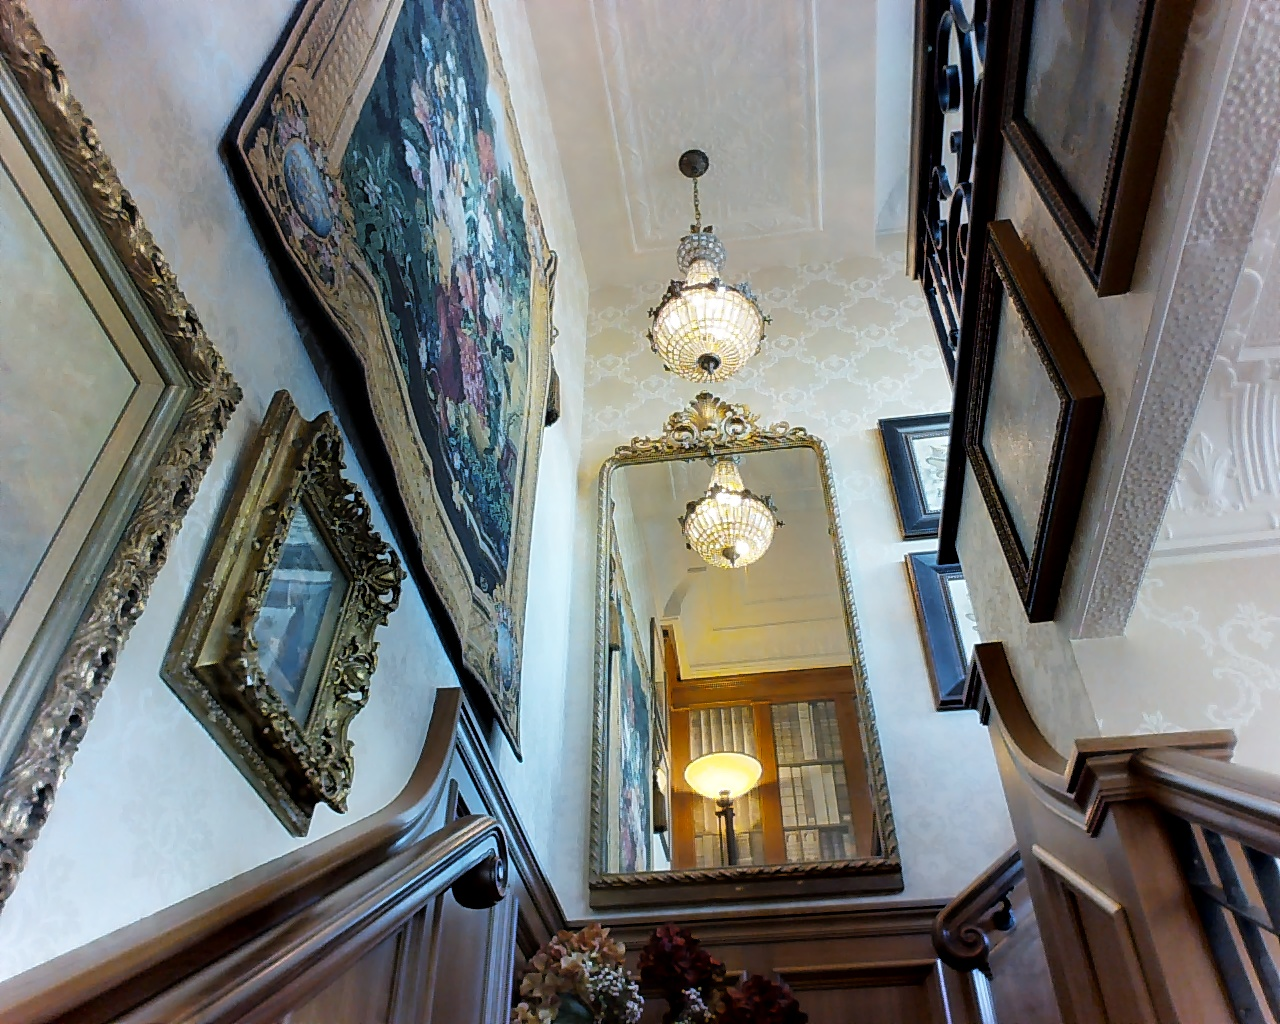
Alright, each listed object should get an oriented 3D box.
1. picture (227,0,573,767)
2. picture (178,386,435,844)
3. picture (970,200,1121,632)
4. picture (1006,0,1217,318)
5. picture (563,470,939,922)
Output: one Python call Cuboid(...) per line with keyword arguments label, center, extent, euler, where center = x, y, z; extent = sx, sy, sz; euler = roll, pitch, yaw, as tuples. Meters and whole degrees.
Cuboid(label="picture", center=(-0.360, -0.480, 2.370), extent=(0.080, 1.470, 1.540), euler=(-5, -43, 6))
Cuboid(label="picture", center=(-0.390, 0.130, 1.360), extent=(0.100, 0.430, 0.380), euler=(-5, -43, 6))
Cuboid(label="picture", center=(0.560, -0.130, 1.540), extent=(0.050, 0.400, 0.470), euler=(-5, -43, 6))
Cuboid(label="picture", center=(0.470, -0.520, 1.090), extent=(0.050, 0.390, 0.500), euler=(-5, -43, 6))
Cuboid(label="picture", center=(0.280, 0.470, 3.240), extent=(0.950, 1.450, 0.100), euler=(-5, -43, 6))
